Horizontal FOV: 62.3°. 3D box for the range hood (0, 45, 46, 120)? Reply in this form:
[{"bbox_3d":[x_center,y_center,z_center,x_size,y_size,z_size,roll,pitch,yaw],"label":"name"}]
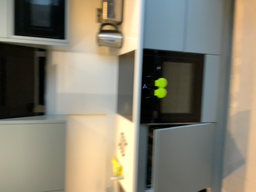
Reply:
[{"bbox_3d":[-0.910,-0.110,1.800,0.300,0.380,0.570,-162,74,-71],"label":"range hood"}]

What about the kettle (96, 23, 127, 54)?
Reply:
[{"bbox_3d":[-0.170,-0.550,2.060,0.240,0.240,0.230,-167,79,-71],"label":"kettle"}]
